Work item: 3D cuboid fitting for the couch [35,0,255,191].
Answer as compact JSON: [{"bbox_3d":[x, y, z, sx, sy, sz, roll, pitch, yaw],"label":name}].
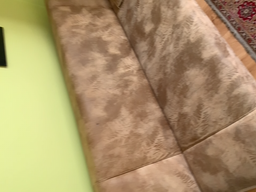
[{"bbox_3d":[0.080,-0.280,1.480,0.950,0.870,1.960,-48,54,38],"label":"couch"}]
